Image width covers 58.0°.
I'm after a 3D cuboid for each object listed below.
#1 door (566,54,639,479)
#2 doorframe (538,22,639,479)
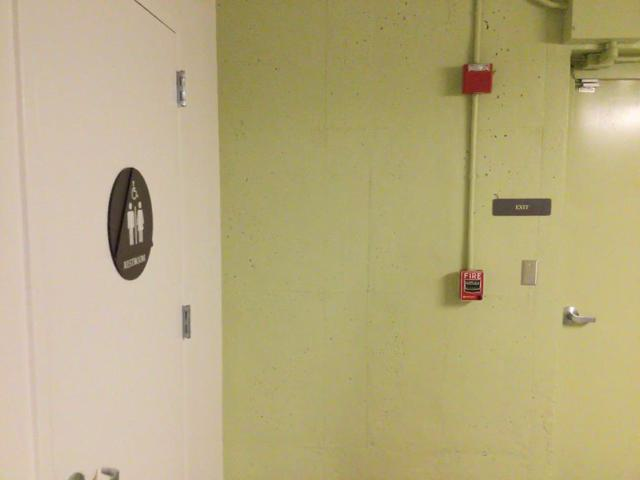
[{"bbox_3d":[1.690,0.210,2.620,1.040,2.040,0.140,-2,7,4],"label":"door"},{"bbox_3d":[1.630,0.160,2.530,1.210,2.110,0.290,-2,7,4],"label":"doorframe"}]
